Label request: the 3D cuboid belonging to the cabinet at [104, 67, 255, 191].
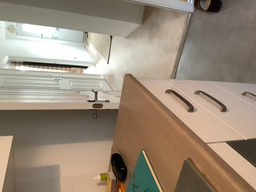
[{"bbox_3d":[0.430,0.260,1.060,0.580,0.910,0.600,-130,47,-58],"label":"cabinet"}]
